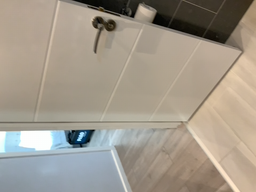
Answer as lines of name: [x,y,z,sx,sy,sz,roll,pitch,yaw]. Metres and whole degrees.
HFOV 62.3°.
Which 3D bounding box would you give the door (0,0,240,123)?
door: [-0.270,-0.080,1.100,0.680,2.010,0.030,-59,41,38]
